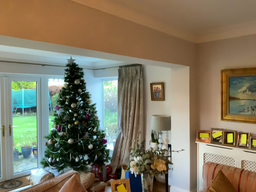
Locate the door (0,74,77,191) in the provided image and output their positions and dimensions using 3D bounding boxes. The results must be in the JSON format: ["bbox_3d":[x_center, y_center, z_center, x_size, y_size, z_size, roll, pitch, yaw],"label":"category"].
[{"bbox_3d":[-2.370,0.670,4.080,0.300,2.150,3.060,1,2,41],"label":"door"}]
